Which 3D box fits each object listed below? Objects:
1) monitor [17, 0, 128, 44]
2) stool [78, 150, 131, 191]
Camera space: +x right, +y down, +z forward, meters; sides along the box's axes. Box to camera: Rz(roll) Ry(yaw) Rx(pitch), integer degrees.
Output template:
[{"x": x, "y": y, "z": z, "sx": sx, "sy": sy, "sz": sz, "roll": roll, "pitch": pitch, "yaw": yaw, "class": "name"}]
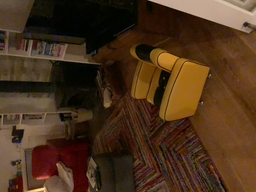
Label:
[{"x": -0.620, "y": -0.690, "z": 2.070, "sx": 1.170, "sy": 0.710, "sz": 0.050, "roll": 2, "pitch": 92, "yaw": 57, "class": "monitor"}, {"x": -0.320, "y": 0.960, "z": 2.690, "sx": 0.570, "sy": 0.410, "sz": 0.450, "roll": -26, "pitch": 68, "yaw": 54, "class": "stool"}]
